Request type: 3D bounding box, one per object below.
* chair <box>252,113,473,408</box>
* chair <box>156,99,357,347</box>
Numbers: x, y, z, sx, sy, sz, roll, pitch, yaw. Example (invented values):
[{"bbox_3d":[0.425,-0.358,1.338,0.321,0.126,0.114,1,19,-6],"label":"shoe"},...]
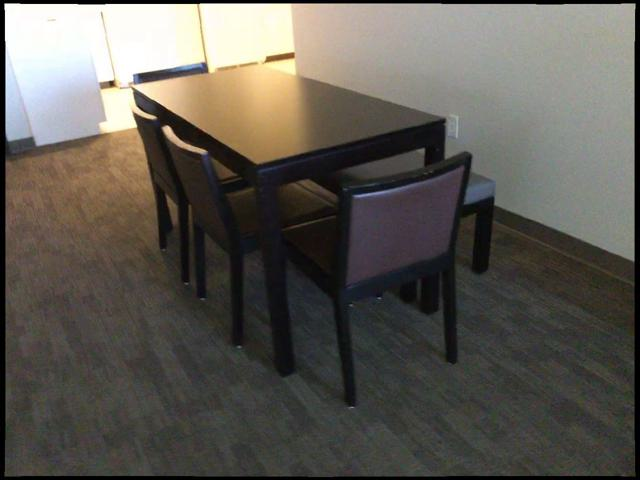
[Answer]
[{"bbox_3d":[0.140,0.040,1.970,0.469,0.751,0.520,-20,32,-26],"label":"chair"},{"bbox_3d":[-0.240,-0.100,2.300,0.519,0.721,0.550,-20,32,-26],"label":"chair"}]
